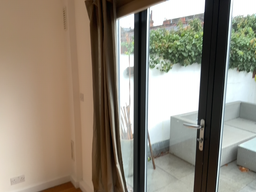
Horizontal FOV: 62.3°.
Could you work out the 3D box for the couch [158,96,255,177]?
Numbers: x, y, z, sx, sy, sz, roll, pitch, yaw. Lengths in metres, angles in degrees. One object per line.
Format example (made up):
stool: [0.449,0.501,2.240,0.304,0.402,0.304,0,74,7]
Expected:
couch: [1.680,0.560,3.890,2.120,0.720,1.040,-9,14,-37]

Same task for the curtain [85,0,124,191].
curtain: [-0.220,0.170,2.050,0.100,2.130,0.430,-9,14,-39]

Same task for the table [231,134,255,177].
table: [2.020,0.900,3.060,0.640,0.360,0.720,-8,14,-36]
